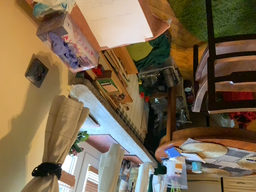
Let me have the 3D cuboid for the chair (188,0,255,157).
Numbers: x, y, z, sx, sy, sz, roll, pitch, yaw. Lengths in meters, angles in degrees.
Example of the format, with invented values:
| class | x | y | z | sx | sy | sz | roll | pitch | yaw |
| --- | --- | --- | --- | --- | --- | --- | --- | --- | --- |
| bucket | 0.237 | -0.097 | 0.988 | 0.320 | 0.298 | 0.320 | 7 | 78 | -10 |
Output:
| class | x | y | z | sx | sy | sz | roll | pitch | yaw |
| --- | --- | --- | --- | --- | --- | --- | --- | --- | --- |
| chair | 0.700 | -0.160 | 1.370 | 0.570 | 0.910 | 0.620 | 1 | 148 | 14 |
